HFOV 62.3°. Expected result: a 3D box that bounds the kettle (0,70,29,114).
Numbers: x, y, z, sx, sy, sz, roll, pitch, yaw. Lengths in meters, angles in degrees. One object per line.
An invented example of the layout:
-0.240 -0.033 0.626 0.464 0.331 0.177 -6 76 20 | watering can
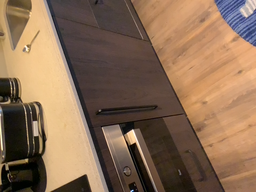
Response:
-0.740 -0.020 1.220 0.160 0.240 0.200 -37 66 38 | kettle
